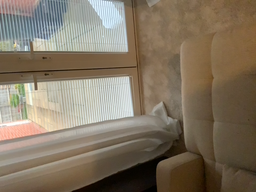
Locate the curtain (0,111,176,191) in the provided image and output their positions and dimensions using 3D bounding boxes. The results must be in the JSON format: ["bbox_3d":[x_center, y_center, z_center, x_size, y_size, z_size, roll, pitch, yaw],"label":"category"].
[{"bbox_3d":[-0.500,0.450,1.300,0.160,2.120,0.360,2,99,54],"label":"curtain"}]
